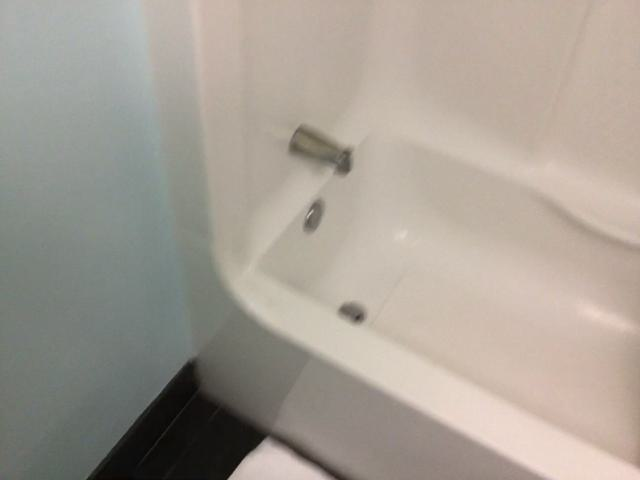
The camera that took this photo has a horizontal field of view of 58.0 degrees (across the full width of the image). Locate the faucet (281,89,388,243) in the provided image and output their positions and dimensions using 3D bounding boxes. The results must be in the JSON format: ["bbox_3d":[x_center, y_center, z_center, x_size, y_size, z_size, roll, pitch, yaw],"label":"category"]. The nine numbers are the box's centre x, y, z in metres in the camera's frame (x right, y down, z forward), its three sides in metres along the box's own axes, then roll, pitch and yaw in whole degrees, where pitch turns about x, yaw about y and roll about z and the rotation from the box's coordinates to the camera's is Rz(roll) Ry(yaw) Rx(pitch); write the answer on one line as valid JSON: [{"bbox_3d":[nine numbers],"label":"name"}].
[{"bbox_3d":[0.030,-0.170,1.350,0.140,0.260,0.200,26,50,14],"label":"faucet"}]
